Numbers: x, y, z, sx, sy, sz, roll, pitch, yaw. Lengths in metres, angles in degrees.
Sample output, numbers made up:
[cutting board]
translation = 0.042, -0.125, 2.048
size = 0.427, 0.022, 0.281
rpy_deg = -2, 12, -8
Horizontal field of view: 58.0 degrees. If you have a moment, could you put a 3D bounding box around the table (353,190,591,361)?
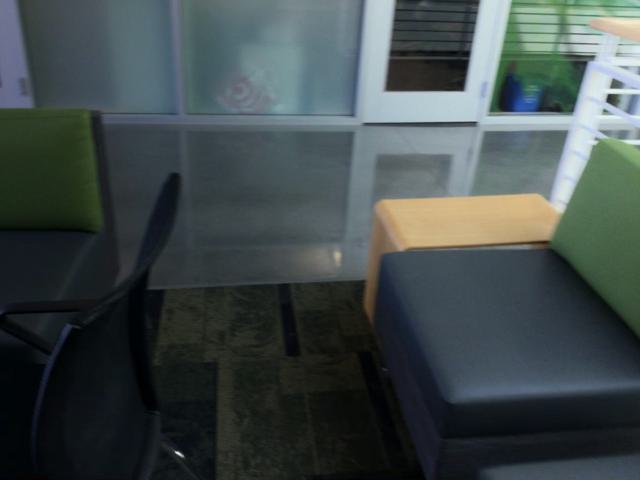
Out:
[table]
translation = 0.510, 0.120, 2.080
size = 0.660, 0.490, 0.350
rpy_deg = 1, 24, -12
